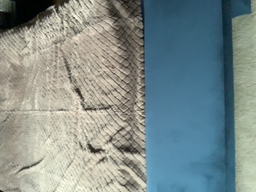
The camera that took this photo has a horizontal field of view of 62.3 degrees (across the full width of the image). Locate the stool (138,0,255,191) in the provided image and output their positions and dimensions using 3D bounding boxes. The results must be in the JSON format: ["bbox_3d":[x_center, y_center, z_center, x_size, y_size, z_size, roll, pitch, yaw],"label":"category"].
[{"bbox_3d":[0.350,0.160,1.050,0.390,0.430,1.530,-2,89,43],"label":"stool"}]
